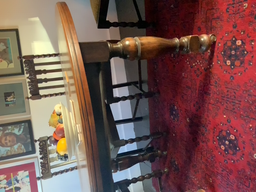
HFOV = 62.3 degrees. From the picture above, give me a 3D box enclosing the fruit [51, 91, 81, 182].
[{"bbox_3d":[-0.350,0.230,1.200,0.310,0.090,0.400,-120,28,-47],"label":"fruit"}]
